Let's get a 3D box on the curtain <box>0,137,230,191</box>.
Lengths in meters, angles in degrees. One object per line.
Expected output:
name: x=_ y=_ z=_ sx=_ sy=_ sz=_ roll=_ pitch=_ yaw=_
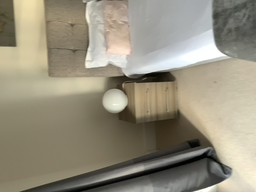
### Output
curtain: x=-0.370 y=0.650 z=1.430 sx=0.520 sy=2.450 sz=0.260 roll=1 pitch=95 yaw=63
